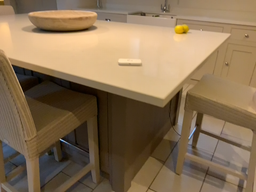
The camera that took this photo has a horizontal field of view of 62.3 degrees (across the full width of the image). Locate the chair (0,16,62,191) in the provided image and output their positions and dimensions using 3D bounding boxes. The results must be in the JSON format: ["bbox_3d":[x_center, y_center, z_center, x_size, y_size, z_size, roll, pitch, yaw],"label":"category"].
[{"bbox_3d":[-0.830,0.040,1.370,0.430,0.980,0.520,16,30,26],"label":"chair"}]

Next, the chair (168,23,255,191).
[{"bbox_3d":[0.620,0.080,1.390,0.490,0.980,0.410,16,30,26],"label":"chair"}]

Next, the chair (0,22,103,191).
[{"bbox_3d":[-0.480,0.160,1.150,0.430,0.980,0.520,16,30,26],"label":"chair"}]
